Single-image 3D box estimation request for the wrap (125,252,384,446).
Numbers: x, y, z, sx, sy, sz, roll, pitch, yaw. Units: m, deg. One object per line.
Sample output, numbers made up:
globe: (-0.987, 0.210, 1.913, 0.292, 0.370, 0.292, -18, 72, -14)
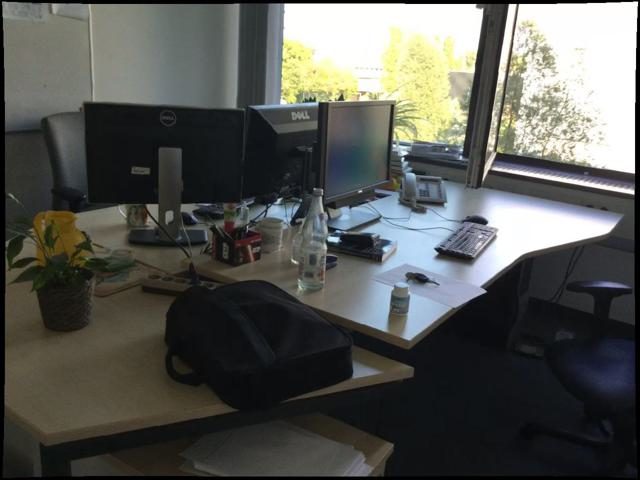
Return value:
wrap: (-0.170, 0.220, 1.410, 0.420, 0.170, 0.480, -13, 25, -38)
